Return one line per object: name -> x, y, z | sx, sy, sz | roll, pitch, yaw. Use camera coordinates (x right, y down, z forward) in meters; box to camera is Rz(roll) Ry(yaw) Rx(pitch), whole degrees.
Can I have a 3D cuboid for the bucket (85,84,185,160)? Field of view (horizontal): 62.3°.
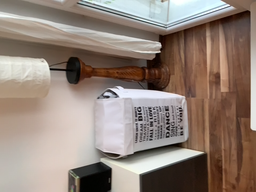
bucket -> 0.070, 0.150, 1.600 | 0.370, 0.670, 0.450 | 0, 90, 51
